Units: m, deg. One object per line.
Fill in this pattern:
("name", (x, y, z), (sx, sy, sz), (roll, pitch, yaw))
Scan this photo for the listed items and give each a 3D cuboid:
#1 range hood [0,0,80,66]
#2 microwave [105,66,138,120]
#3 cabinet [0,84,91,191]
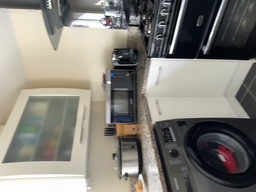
("range hood", (-0.800, -0.750, 1.690), (0.450, 0.730, 0.910), (-97, 11, -45))
("microwave", (-0.080, -0.010, 2.160), (0.350, 0.290, 0.500), (141, 129, -80))
("cabinet", (-0.740, 0.340, 1.960), (0.990, 0.750, 0.350), (-98, 12, -48))
